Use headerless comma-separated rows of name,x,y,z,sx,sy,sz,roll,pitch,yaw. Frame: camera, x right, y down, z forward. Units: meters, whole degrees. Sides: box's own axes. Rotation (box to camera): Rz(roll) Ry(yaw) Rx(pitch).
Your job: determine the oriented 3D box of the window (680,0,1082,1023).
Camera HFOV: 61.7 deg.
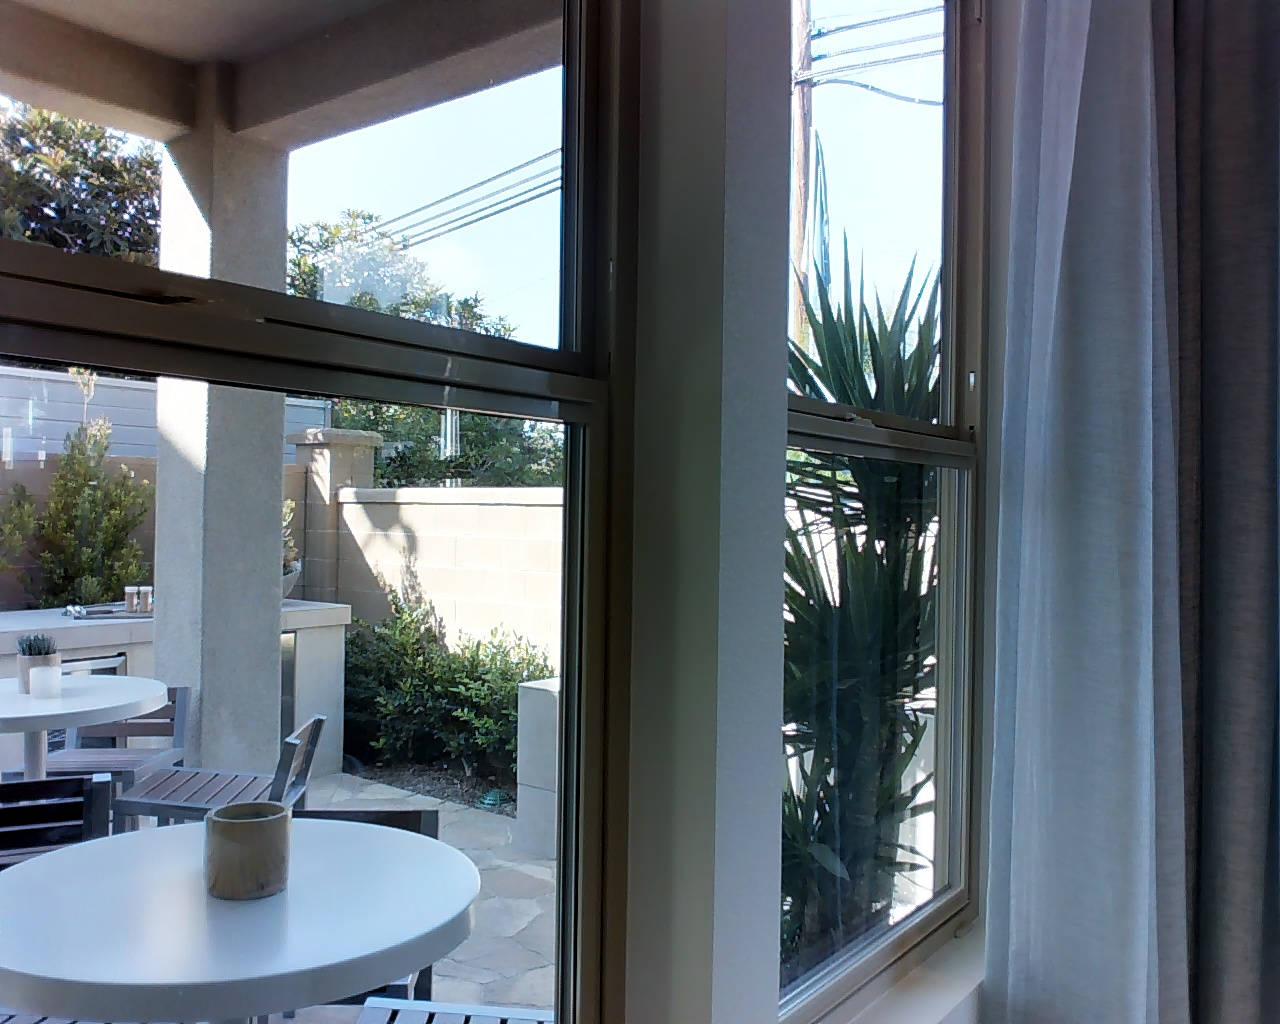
window,0.390,-0.130,1.490,0.170,1.571,0.870,1,0,37
